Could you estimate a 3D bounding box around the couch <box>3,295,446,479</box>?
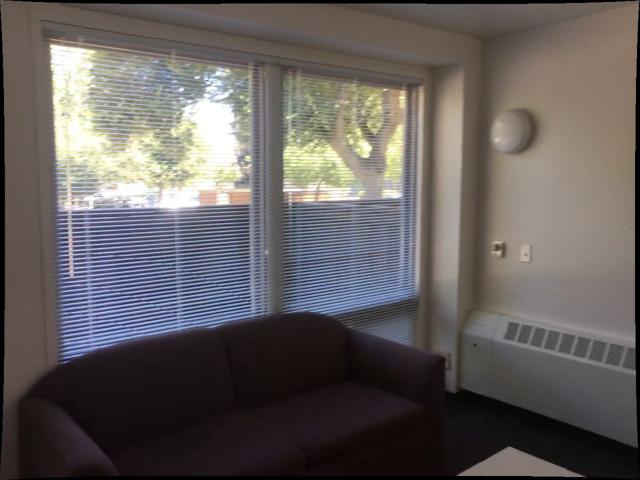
[{"bbox_3d":[-0.359,0.851,2.670,1.768,0.791,0.919,-7,9,-37],"label":"couch"}]
